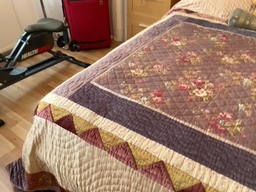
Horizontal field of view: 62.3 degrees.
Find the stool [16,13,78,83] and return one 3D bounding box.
[{"bbox_3d":[-0.740,-0.460,2.020,0.280,0.500,0.350,24,45,27],"label":"stool"}]
